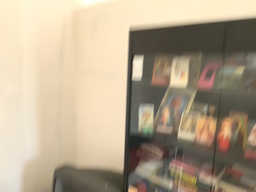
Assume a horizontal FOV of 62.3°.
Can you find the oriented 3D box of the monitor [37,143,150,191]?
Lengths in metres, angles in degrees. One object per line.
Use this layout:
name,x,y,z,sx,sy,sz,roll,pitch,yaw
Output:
monitor,-0.220,0.630,1.350,0.570,0.430,0.420,8,11,38
